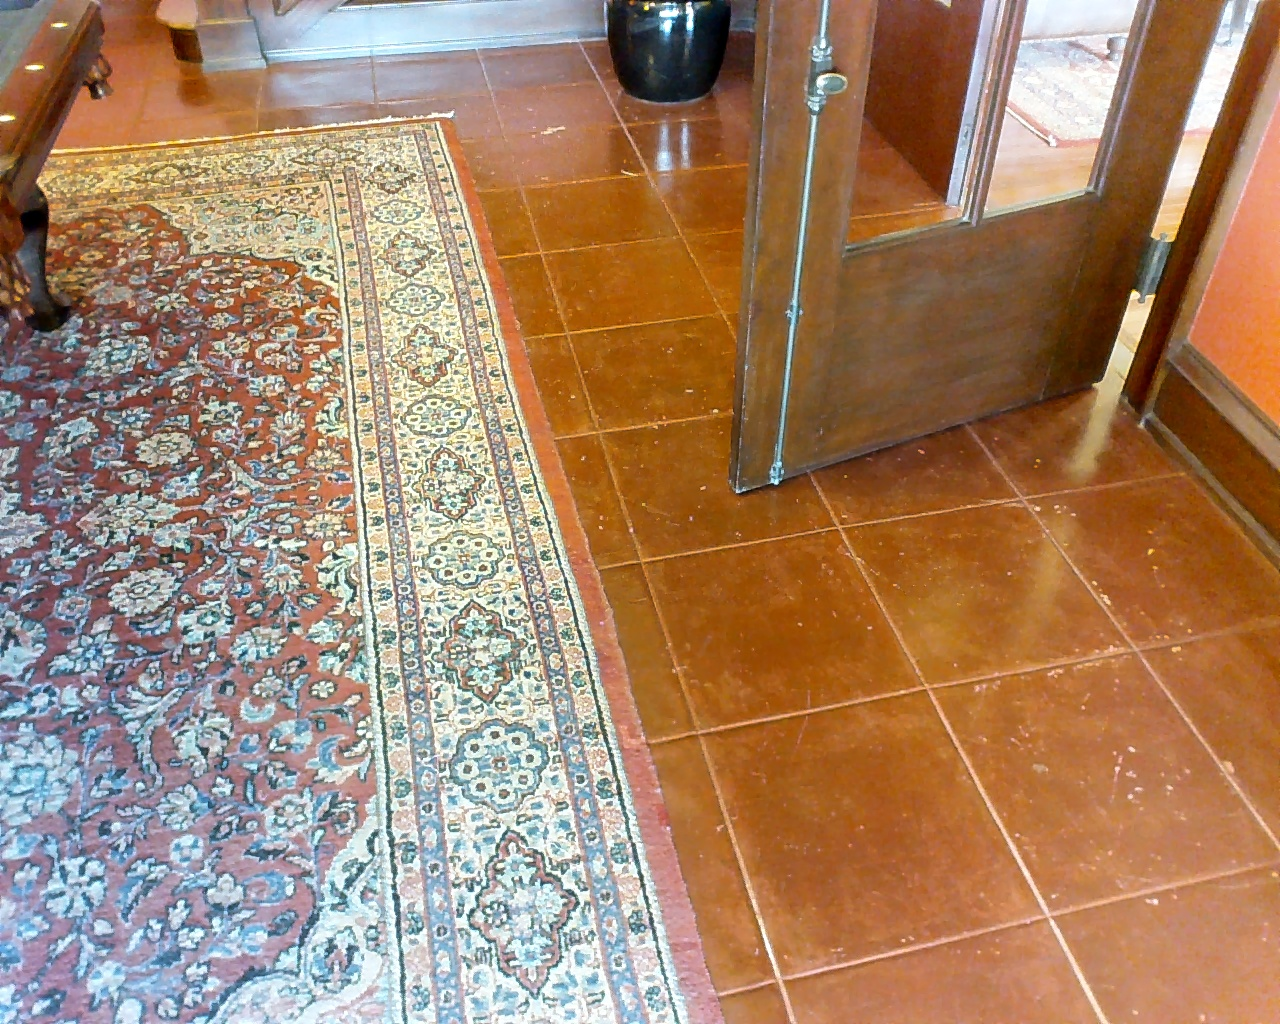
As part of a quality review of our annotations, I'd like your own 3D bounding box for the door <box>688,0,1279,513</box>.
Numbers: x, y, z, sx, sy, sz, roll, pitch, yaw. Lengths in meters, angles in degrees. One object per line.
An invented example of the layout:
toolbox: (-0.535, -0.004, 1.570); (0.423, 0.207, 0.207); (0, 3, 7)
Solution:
door: (0.690, -1.130, 1.770); (1.160, 2.490, 0.210); (-15, 44, -16)
